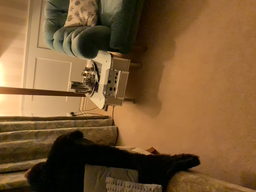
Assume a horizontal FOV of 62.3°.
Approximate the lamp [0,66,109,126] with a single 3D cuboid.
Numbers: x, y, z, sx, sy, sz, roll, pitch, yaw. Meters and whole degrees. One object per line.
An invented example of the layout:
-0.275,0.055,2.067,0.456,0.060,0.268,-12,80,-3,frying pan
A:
-1.190,-0.010,2.610,0.580,1.750,0.560,27,110,56,lamp
